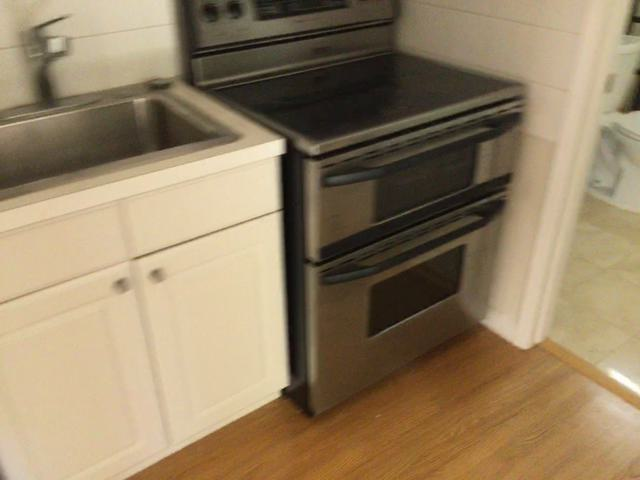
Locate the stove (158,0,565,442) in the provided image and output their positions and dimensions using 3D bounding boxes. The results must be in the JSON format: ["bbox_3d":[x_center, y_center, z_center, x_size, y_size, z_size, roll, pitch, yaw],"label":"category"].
[{"bbox_3d":[0.110,-0.190,1.850,0.820,1.160,0.760,-20,34,-25],"label":"stove"}]

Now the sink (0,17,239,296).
[{"bbox_3d":[-0.580,-0.250,1.390,0.540,0.410,0.500,-23,36,-29],"label":"sink"}]

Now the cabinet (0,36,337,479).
[{"bbox_3d":[-0.710,0.180,1.430,1.310,1.010,0.690,-23,36,-29],"label":"cabinet"}]
